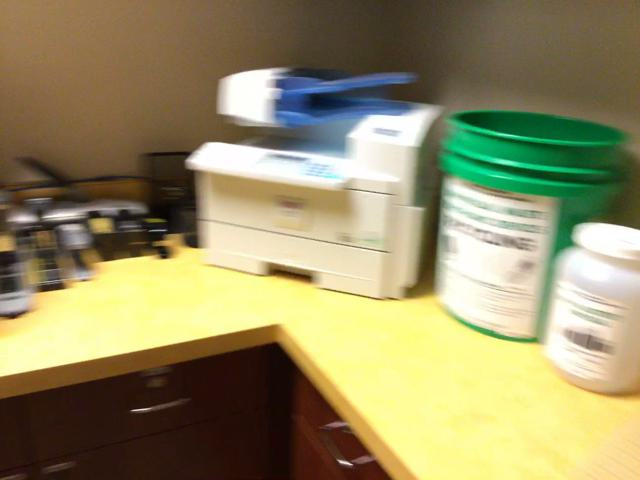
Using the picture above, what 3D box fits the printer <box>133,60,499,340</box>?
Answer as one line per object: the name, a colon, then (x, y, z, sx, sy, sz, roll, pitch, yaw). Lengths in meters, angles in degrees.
printer: (0.010, -0.160, 1.300, 0.560, 0.410, 0.590, 16, 22, 27)
